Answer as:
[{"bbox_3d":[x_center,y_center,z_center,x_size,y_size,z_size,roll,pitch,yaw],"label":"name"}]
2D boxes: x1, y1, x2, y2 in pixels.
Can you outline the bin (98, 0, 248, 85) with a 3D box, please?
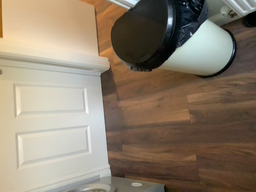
[{"bbox_3d":[0.250,-0.280,1.050,0.390,0.640,0.330,-19,76,42],"label":"bin"}]
